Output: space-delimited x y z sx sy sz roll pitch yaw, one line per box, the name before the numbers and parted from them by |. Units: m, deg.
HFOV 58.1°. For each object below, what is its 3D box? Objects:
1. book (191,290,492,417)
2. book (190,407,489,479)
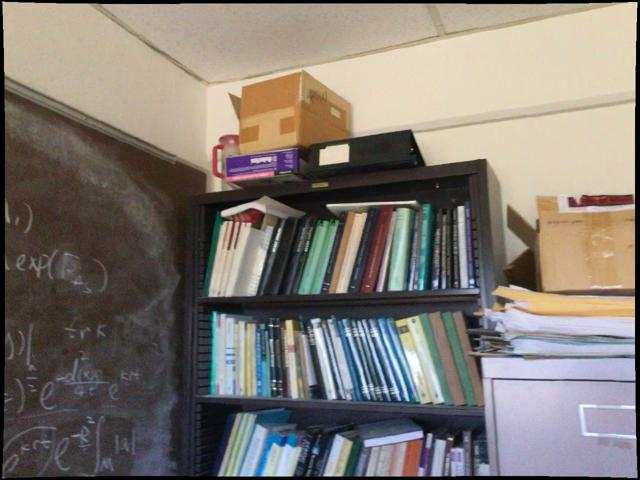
book | 0.050 0.341 1.760 0.878 0.321 0.240 -4 -11 22
book | 0.050 0.672 1.690 0.828 0.291 0.280 -4 -11 21
